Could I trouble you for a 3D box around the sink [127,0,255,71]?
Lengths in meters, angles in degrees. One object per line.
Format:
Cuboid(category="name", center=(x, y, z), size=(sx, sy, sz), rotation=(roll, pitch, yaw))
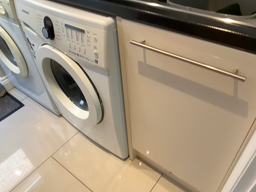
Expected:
Cuboid(category="sink", center=(0.270, -0.320, 0.780), size=(0.390, 0.160, 0.390), rotation=(26, 51, 27))
